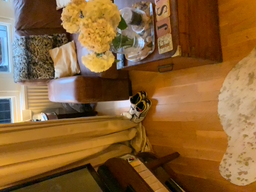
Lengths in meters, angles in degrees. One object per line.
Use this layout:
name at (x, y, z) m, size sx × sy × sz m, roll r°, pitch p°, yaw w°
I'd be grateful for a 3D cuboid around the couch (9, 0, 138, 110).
couch at (-0.610, -0.720, 2.130) m, size 1.040 × 0.780 × 1.620 m, roll -8°, pitch 86°, yaw 47°

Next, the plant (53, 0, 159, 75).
plant at (-0.110, -0.310, 1.130) m, size 0.330 × 0.430 × 0.340 m, roll -6°, pitch 87°, yaw 46°
